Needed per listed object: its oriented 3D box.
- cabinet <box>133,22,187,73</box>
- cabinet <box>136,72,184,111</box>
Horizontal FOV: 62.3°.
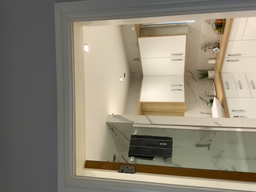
[{"bbox_3d":[0.540,-0.770,3.520,0.810,0.780,0.260,77,-162,-49],"label":"cabinet"},{"bbox_3d":[0.560,-0.090,3.640,0.270,0.760,0.620,77,-162,-49],"label":"cabinet"}]
